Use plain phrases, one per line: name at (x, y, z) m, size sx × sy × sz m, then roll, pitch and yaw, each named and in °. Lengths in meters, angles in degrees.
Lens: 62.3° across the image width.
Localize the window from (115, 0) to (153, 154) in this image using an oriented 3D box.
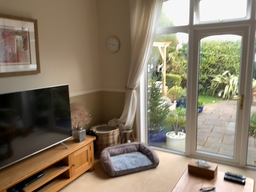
window at (0.090, -0.420, 3.360) m, size 0.530 × 2.630 × 0.220 m, roll 6°, pitch 12°, yaw 32°
